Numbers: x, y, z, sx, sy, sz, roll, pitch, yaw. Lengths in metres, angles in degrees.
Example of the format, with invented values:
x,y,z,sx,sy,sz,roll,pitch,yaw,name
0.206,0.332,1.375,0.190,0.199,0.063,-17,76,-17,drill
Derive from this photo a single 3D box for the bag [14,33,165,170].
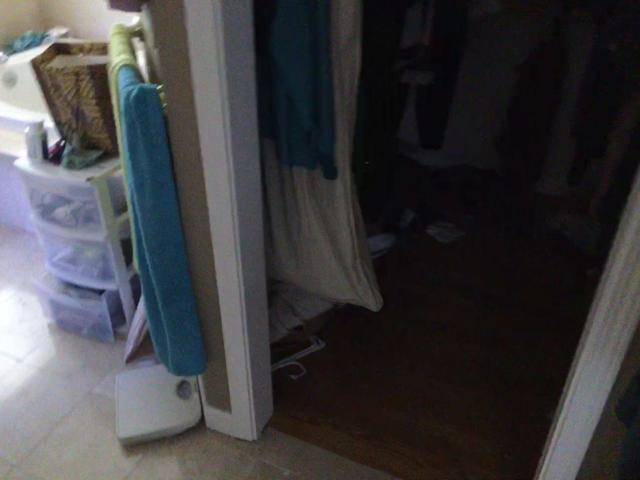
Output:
x,y,z,sx,sy,sz,roll,pitch,yaw,name
-0.720,-0.450,1.850,0.330,0.330,0.230,13,33,16,bag

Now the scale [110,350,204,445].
x,y,z,sx,sy,sz,roll,pitch,yaw,name
-0.510,0.480,1.800,0.250,0.070,0.260,-9,34,-18,scale
